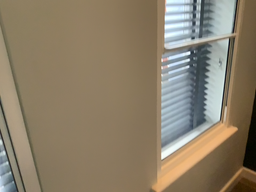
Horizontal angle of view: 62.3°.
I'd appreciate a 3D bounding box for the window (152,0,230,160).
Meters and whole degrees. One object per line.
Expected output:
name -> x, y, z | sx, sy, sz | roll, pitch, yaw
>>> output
window -> 0.390, -0.270, 1.250 | 0.670, 1.190, 0.030 | -19, 26, -36
